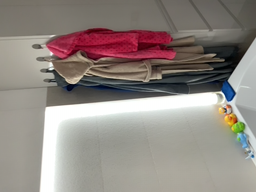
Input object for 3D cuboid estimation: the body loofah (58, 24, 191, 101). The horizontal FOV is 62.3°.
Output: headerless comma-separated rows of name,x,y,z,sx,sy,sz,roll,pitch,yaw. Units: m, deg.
body loofah,-0.040,-0.210,1.390,0.450,0.740,0.200,101,160,-54
